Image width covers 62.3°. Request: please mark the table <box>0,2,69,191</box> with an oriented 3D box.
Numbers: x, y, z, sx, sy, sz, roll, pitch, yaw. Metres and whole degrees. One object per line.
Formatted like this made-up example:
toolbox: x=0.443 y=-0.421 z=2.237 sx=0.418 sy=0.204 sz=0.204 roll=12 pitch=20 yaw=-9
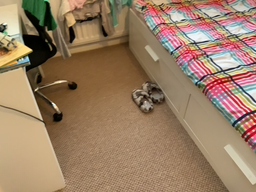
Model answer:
table: x=-0.830 y=0.010 z=1.240 sx=0.650 sy=0.620 sz=1.070 roll=-16 pitch=47 yaw=-15
